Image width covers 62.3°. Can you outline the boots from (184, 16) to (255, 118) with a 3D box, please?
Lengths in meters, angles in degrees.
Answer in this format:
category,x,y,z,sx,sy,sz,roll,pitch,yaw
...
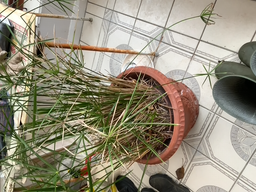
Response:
category,x,y,z,sx,sy,sz,roll,pitch,yaw
boots,0.410,-0.090,0.690,0.260,0.350,0.210,31,114,35
